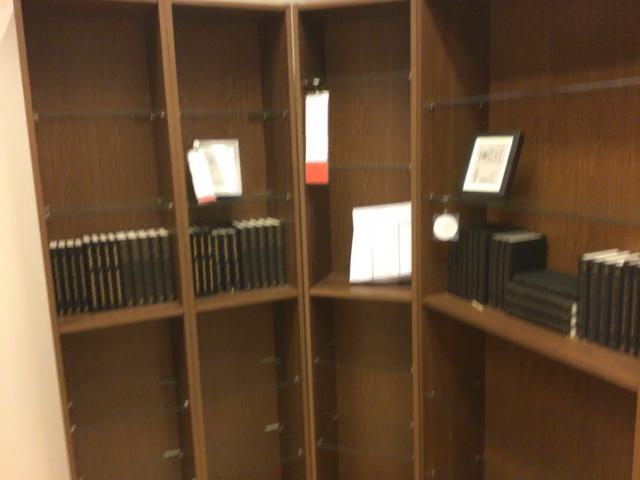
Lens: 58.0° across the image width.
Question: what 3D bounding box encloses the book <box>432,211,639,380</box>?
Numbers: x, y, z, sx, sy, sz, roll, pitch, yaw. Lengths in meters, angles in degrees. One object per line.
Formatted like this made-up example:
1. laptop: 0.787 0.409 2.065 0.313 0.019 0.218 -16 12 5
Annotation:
1. book: 0.610 0.100 1.510 0.220 0.270 0.740 -8 11 -24

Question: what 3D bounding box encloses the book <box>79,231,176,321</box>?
1. book: -0.630 0.110 1.890 0.260 0.230 0.160 -8 11 -24

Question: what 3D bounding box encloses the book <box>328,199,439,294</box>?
1. book: 0.230 0.010 2.040 0.310 0.280 0.260 1 11 26

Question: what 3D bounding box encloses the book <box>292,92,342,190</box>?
1. book: -0.010 -0.320 1.880 0.130 0.300 0.090 -6 10 -12

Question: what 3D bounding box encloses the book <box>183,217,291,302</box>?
1. book: -0.290 0.060 2.030 0.320 0.230 0.170 -8 11 -24

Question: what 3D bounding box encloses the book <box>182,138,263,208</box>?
1. book: -0.330 -0.230 1.950 0.210 0.210 0.190 -8 11 -24
